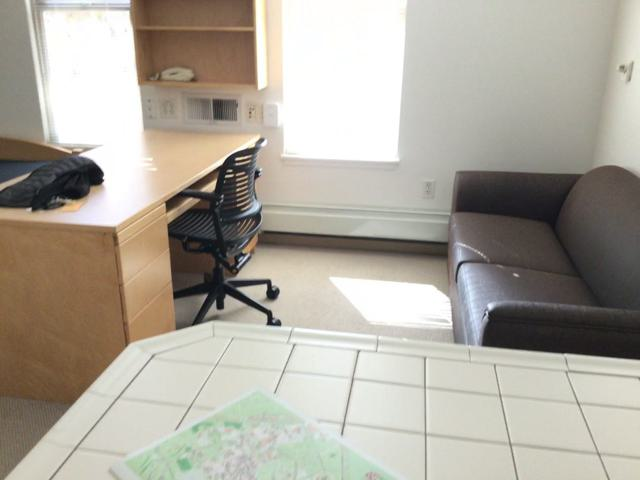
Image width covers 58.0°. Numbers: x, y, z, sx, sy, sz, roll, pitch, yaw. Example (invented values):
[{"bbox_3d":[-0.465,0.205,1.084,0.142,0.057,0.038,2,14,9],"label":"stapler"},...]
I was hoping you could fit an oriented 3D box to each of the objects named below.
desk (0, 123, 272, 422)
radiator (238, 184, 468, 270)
[{"bbox_3d":[-0.910,-0.040,2.960,0.910,0.810,1.860,5,20,8],"label":"desk"},{"bbox_3d":[0.190,-0.090,3.680,1.410,0.400,0.180,5,20,8],"label":"radiator"}]
